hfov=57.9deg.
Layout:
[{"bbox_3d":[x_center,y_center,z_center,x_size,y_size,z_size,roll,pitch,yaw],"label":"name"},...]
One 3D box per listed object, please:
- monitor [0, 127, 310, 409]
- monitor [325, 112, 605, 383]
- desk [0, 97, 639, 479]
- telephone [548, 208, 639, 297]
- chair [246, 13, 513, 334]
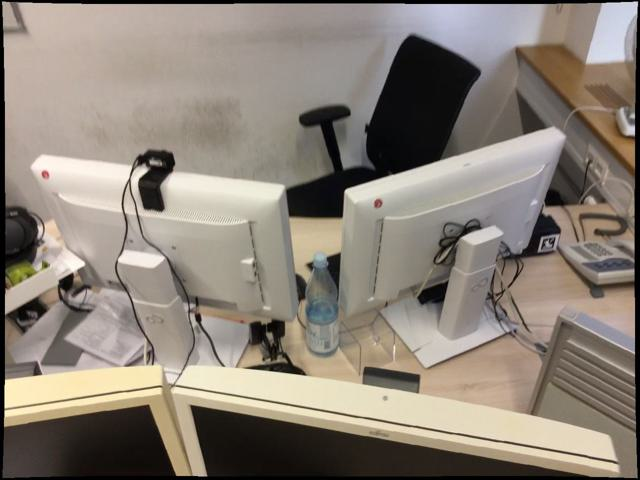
[{"bbox_3d":[-0.350,0.070,1.330,0.579,0.550,0.240,8,41,13],"label":"monitor"},{"bbox_3d":[0.320,0.020,1.390,0.560,0.490,0.210,-17,42,-15],"label":"monitor"},{"bbox_3d":[-0.060,0.300,1.900,2.148,0.861,1.261,-5,40,-2],"label":"desk"},{"bbox_3d":[0.849,0.030,1.660,0.280,0.110,0.230,-5,40,-2],"label":"telephone"},{"bbox_3d":[0.210,-0.280,2.430,0.769,1.011,0.630,-16,42,-15],"label":"chair"}]
